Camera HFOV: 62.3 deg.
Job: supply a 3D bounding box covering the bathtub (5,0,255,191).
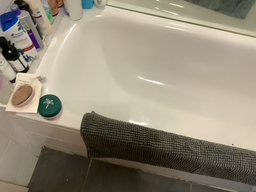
[{"bbox_3d":[0.410,0.070,1.180,1.660,0.550,0.760,14,62,3],"label":"bathtub"}]
